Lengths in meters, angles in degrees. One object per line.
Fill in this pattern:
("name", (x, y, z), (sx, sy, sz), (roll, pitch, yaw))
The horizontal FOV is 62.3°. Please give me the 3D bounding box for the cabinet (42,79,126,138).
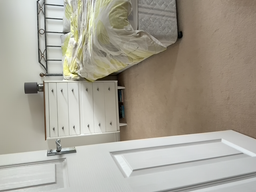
("cabinet", (-0.650, 0.150, 3.140), (0.450, 1.120, 0.760), (171, 97, -70))
